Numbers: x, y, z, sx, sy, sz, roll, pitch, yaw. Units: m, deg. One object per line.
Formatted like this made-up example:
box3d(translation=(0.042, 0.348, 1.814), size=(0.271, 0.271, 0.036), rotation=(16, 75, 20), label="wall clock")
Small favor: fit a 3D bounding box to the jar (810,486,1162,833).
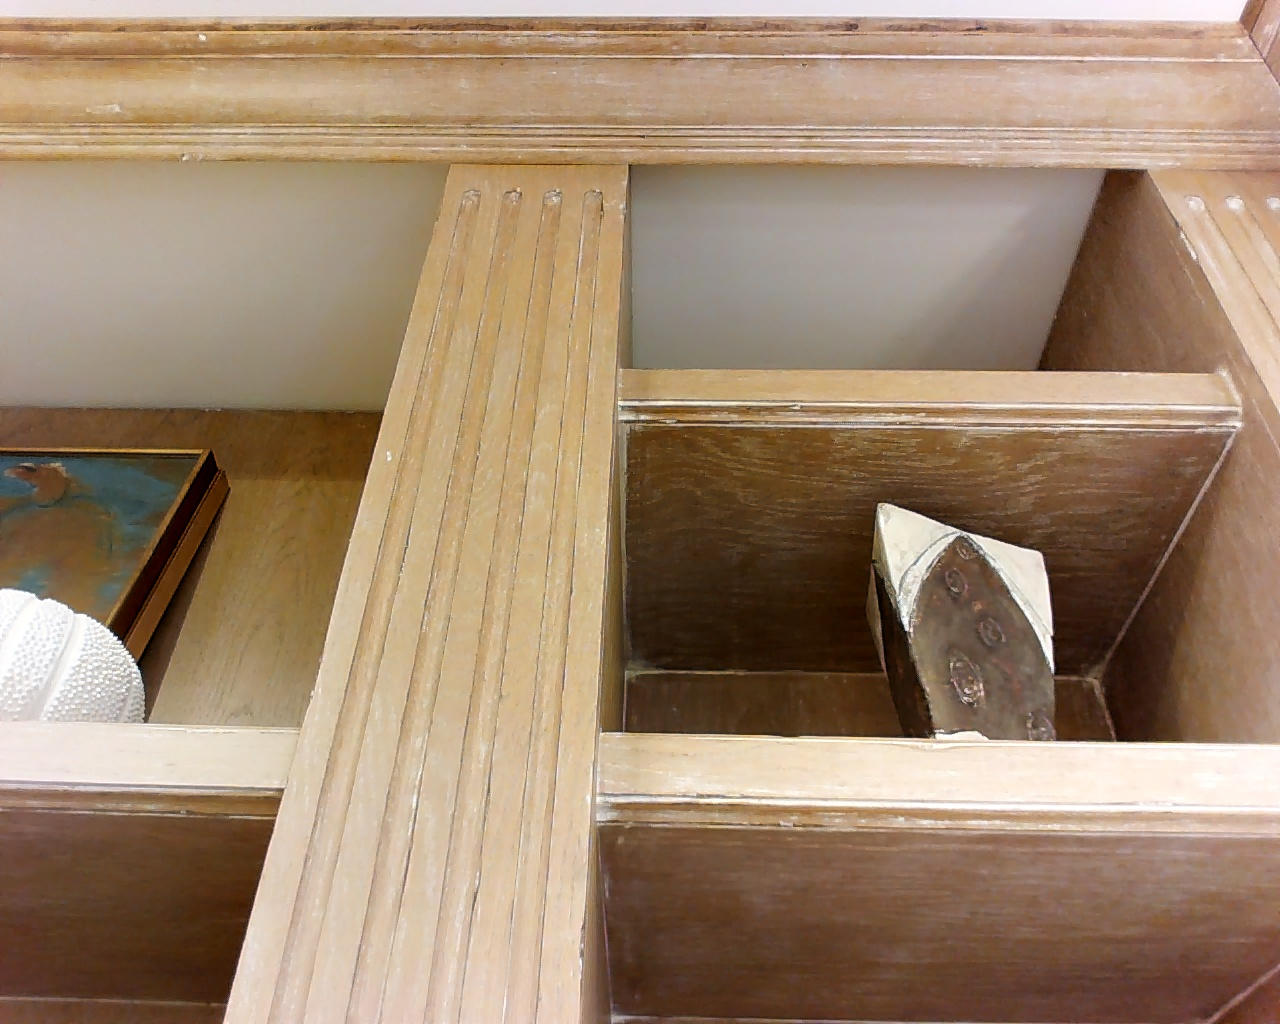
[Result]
box3d(translation=(0.310, 0.140, 1.020), size=(0.230, 0.240, 0.160), rotation=(12, -43, -11), label="jar")
